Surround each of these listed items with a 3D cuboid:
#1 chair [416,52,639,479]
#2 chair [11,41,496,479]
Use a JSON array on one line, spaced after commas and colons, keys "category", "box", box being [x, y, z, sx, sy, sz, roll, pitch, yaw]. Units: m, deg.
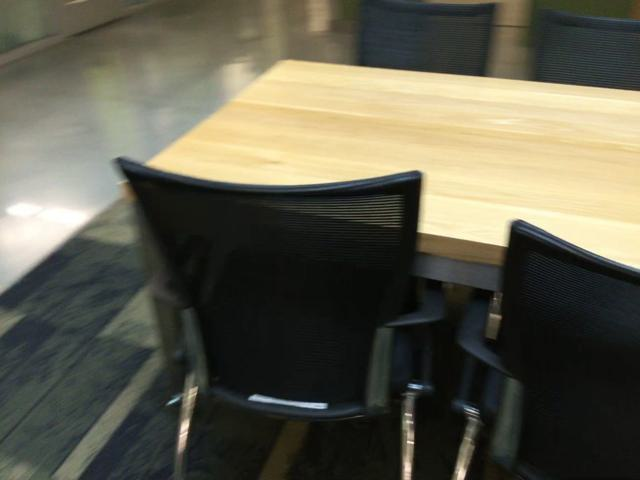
[{"category": "chair", "box": [0.540, 0.220, 1.070, 0.550, 0.890, 0.780, 11, 34, 19]}, {"category": "chair", "box": [-0.020, 0.140, 1.240, 0.580, 0.900, 0.750, 10, 33, 16]}]
